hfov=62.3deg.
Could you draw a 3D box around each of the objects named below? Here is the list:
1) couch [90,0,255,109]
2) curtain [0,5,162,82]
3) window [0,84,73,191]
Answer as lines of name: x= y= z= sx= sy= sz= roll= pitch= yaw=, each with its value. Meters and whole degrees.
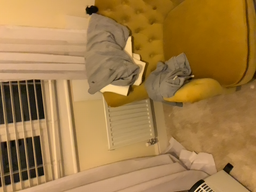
couch: x=0.310 y=-0.330 z=1.220 sx=0.660 sy=0.790 sz=0.700 roll=-1 pitch=94 yaw=52
curtain: x=-0.650 y=-0.270 z=1.160 sx=0.200 sy=2.150 sz=0.360 roll=-8 pitch=89 yaw=52
window: x=-0.950 y=0.310 z=1.180 sx=0.090 sy=1.250 sz=0.690 roll=-8 pitch=89 yaw=52
